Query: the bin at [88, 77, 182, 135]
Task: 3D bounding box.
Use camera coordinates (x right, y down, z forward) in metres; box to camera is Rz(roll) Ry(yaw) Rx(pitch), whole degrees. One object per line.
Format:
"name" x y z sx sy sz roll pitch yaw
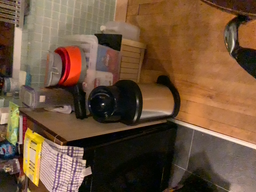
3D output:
"bin" 0.070 0.040 1.360 0.240 0.590 0.260 18 104 41
